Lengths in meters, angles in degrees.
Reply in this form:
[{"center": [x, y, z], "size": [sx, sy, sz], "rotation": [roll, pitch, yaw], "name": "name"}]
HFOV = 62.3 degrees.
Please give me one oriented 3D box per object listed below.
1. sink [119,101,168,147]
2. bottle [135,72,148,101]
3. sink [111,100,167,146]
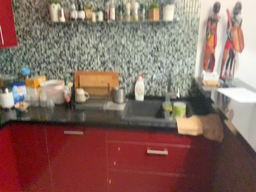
[{"center": [0.140, 0.220, 1.840], "size": [0.370, 0.200, 0.470], "rotation": [2, 17, 6], "name": "sink"}, {"center": [0.130, -0.090, 2.050], "size": [0.110, 0.270, 0.080], "rotation": [2, 17, 4], "name": "bottle"}, {"center": [0.110, 0.210, 1.850], "size": [0.420, 0.200, 0.480], "rotation": [2, 17, 6], "name": "sink"}]
